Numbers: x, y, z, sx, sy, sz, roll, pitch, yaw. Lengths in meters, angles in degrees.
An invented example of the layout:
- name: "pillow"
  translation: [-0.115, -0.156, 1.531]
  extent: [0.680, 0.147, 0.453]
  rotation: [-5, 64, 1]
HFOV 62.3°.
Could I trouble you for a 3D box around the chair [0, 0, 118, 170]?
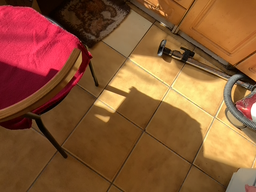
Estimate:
- name: "chair"
  translation: [-0.390, -0.070, 0.750]
  extent: [0.460, 0.690, 0.440]
  rotation: [32, 70, 0]
